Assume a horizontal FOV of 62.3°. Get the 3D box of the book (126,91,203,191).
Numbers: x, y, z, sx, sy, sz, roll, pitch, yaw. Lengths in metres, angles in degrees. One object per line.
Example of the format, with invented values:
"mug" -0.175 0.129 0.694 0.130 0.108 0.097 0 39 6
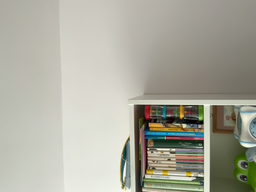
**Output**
"book" 0.160 0.190 0.900 0.260 0.270 0.410 -11 -78 -74
